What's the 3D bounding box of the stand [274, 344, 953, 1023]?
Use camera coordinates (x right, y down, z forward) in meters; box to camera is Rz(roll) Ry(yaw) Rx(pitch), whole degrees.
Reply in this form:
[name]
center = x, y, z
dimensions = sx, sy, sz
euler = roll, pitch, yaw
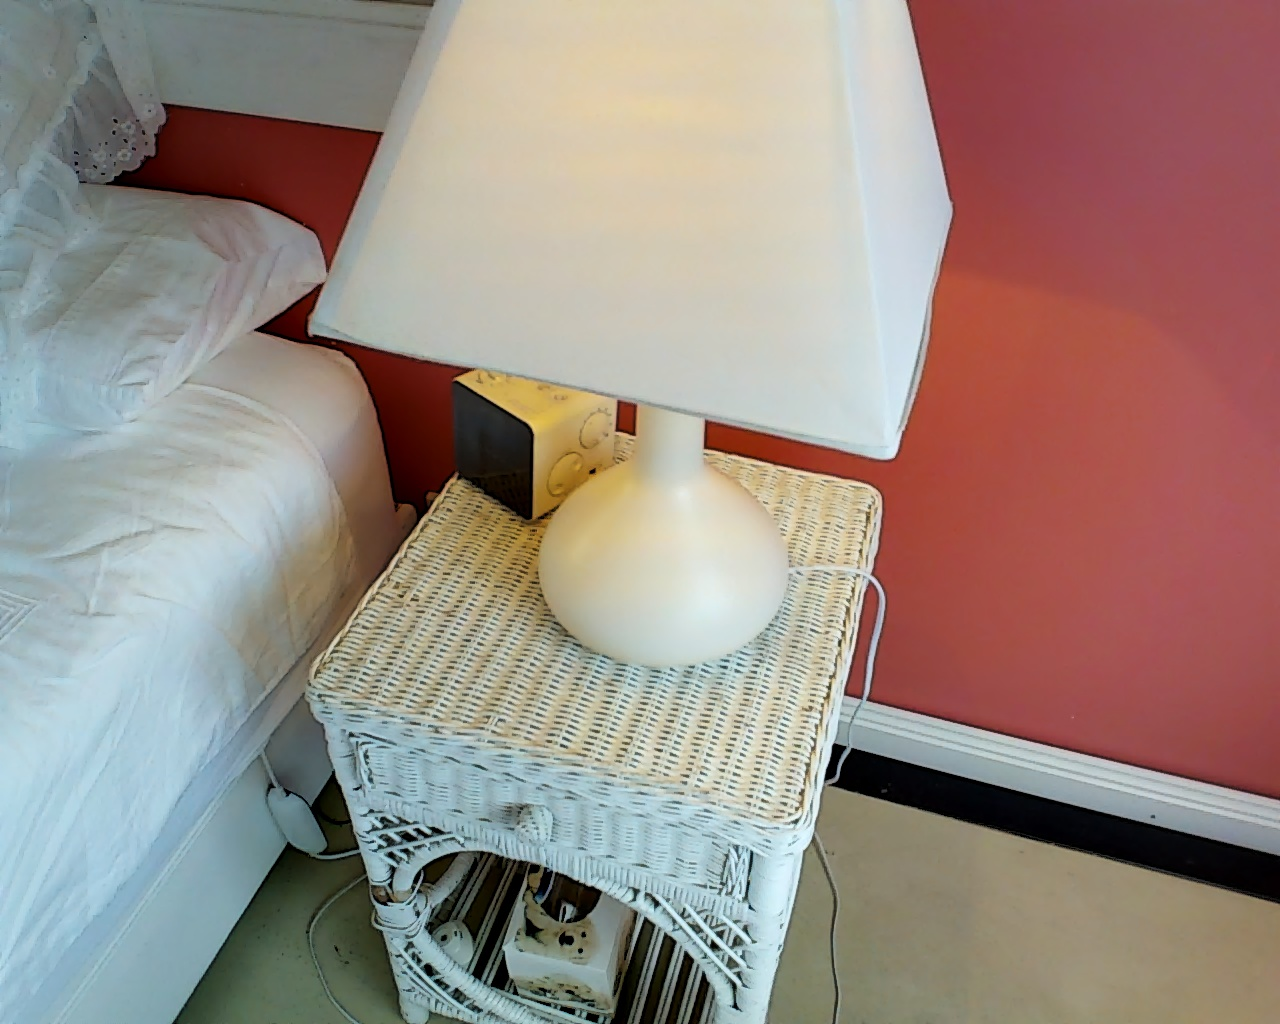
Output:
[stand]
center = 0.030, 0.260, 1.210
dimensions = 0.480, 0.630, 0.570
euler = 11, 41, 15
